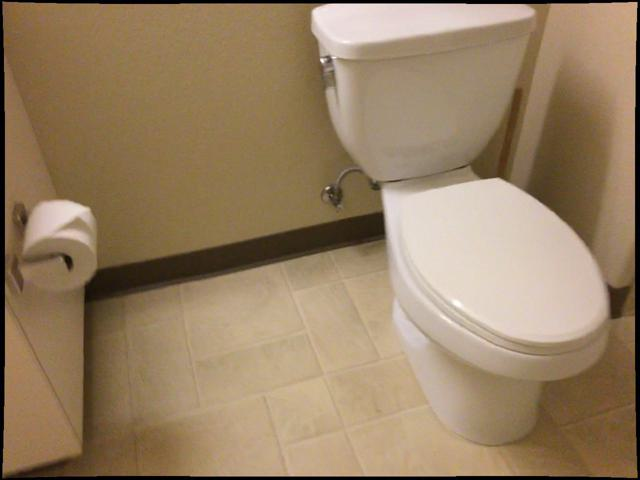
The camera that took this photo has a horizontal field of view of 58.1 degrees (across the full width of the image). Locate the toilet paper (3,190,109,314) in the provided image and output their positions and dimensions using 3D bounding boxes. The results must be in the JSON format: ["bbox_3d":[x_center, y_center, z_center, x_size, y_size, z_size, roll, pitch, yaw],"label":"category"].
[{"bbox_3d":[-0.479,0.020,1.060,0.130,0.150,0.140,-13,41,-13],"label":"toilet paper"}]
